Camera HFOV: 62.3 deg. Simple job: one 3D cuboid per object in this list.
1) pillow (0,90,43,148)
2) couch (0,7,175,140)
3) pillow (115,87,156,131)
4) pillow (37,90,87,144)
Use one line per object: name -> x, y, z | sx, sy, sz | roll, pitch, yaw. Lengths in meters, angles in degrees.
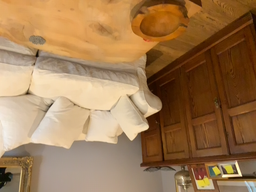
pillow -> -1.020, 0.220, 1.960 | 0.260, 0.420, 0.260 | 26, 151, -22
couch -> -0.900, -0.080, 2.030 | 2.440, 0.820, 1.060 | 7, 159, -27
pillow -> 0.070, 0.150, 2.260 | 0.300, 0.380, 0.330 | 6, 159, -24
pillow -> -0.670, 0.240, 2.130 | 0.380, 0.420, 0.470 | 6, 159, -26
